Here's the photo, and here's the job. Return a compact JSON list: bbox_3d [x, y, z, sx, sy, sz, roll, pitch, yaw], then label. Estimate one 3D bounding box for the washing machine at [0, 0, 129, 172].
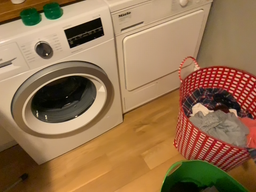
[{"bbox_3d":[-0.450,-0.200,1.230,0.590,0.870,0.790,-23,54,-15],"label":"washing machine"}]
